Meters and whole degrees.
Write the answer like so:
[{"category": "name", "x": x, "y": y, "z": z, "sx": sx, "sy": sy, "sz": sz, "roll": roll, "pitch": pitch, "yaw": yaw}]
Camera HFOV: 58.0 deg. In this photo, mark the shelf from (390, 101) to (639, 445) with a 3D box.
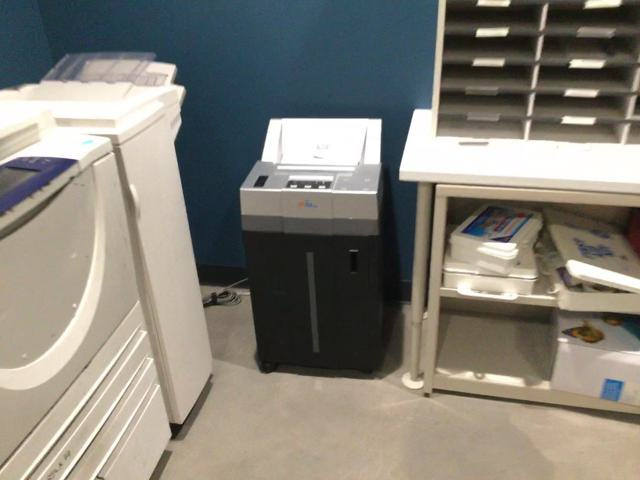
[{"category": "shelf", "x": 1.040, "y": 0.090, "z": 1.580, "sx": 1.630, "sy": 0.780, "sz": 0.550, "roll": 3, "pitch": 30, "yaw": 12}]
